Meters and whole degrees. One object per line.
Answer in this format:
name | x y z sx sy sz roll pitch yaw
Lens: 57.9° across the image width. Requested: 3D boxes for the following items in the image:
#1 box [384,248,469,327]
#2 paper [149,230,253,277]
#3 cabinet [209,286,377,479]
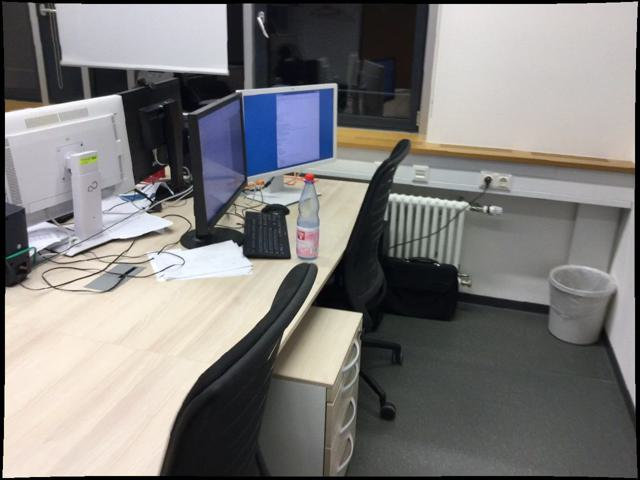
box | 0.569 0.250 3.100 0.400 0.320 0.170 8 22 14
paper | -0.410 0.040 1.960 0.320 0.030 0.280 -4 23 -16
cabinet | -0.070 0.541 1.900 0.380 0.560 0.510 8 22 14
